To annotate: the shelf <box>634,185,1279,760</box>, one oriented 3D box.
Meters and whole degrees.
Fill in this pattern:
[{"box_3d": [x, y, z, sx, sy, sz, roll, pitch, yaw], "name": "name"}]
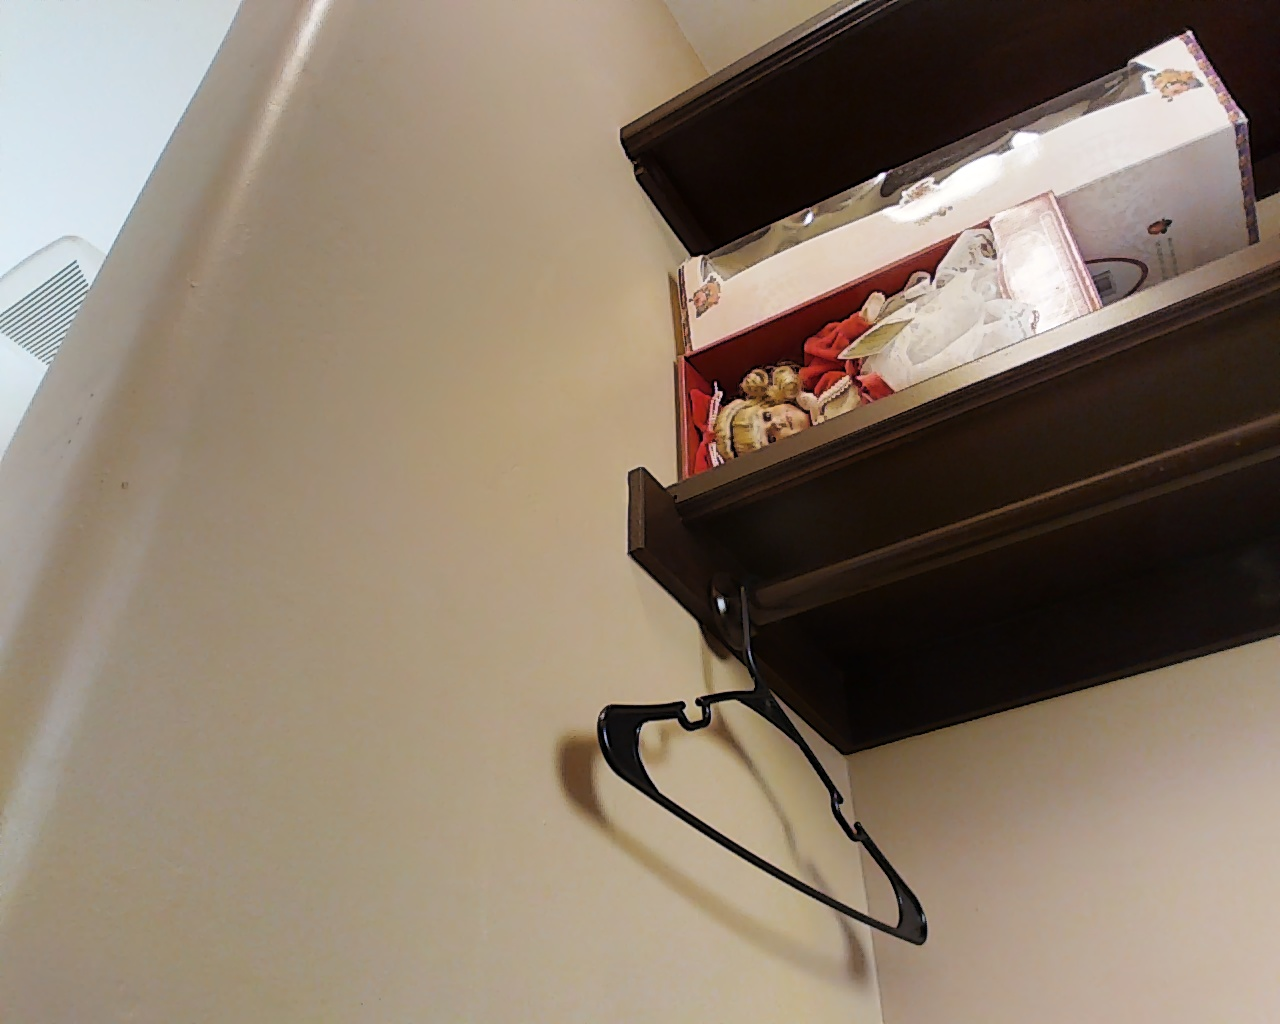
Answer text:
[{"box_3d": [0.600, -0.110, 0.660, 1.190, 0.070, 0.390, -23, -45, 25], "name": "shelf"}]
